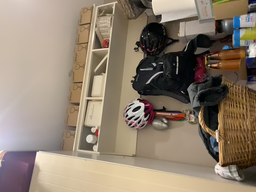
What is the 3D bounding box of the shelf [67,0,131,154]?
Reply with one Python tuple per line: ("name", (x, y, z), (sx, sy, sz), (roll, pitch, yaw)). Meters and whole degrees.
("shelf", (-0.200, -0.170, 1.690), (0.290, 0.200, 1.200), (30, -116, -60))
